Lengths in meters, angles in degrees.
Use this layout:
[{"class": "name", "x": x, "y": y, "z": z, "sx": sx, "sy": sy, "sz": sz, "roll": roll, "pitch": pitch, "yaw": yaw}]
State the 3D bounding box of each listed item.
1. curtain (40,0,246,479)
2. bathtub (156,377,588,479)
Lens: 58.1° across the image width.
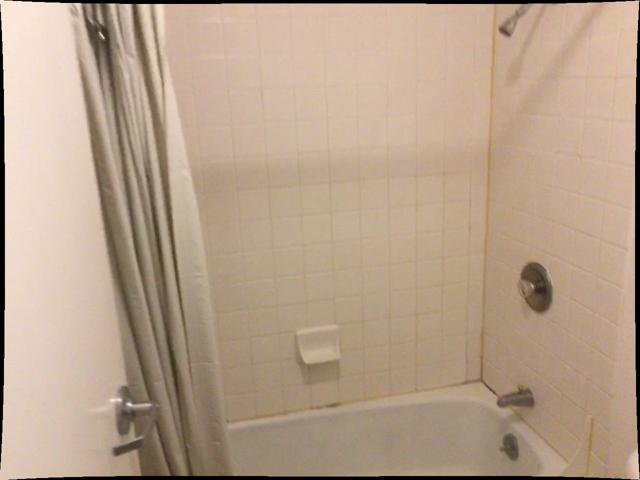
[{"class": "curtain", "x": -0.349, "y": 0.170, "z": 1.310, "sx": 0.280, "sy": 1.592, "sz": 0.240, "roll": -6, "pitch": 15, "yaw": -12}, {"class": "bathtub", "x": 0.130, "y": 0.911, "z": 1.940, "sx": 1.288, "sy": 0.391, "sz": 0.770, "roll": -6, "pitch": 15, "yaw": -12}]
